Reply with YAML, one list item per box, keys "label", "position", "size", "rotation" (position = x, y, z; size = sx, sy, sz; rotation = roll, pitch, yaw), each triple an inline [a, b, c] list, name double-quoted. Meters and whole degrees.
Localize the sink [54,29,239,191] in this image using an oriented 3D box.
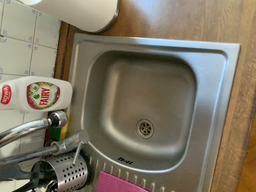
- label: "sink"
  position: [0.040, 0.020, 0.700]
  size: [0.510, 0.190, 0.400]
  rotation: [13, 96, 27]
